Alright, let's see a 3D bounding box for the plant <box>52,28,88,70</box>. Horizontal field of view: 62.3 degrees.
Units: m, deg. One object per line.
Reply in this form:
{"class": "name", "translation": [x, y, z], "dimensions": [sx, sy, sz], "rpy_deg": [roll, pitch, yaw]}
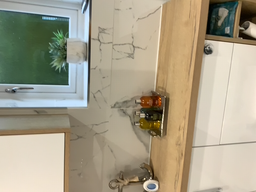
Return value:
{"class": "plant", "translation": [-0.330, -0.260, 1.190], "dimensions": [0.170, 0.180, 0.200], "rpy_deg": [-150, 62, -68]}

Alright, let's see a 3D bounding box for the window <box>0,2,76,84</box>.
{"class": "window", "translation": [-0.690, -0.300, 1.230], "dimensions": [0.050, 0.740, 0.440], "rpy_deg": [-152, 65, -68]}
